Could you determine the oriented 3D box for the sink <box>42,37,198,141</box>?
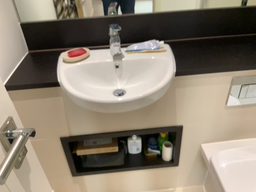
[{"bbox_3d":[-0.040,-0.070,0.980,0.530,0.200,0.500,-5,35,-2],"label":"sink"}]
